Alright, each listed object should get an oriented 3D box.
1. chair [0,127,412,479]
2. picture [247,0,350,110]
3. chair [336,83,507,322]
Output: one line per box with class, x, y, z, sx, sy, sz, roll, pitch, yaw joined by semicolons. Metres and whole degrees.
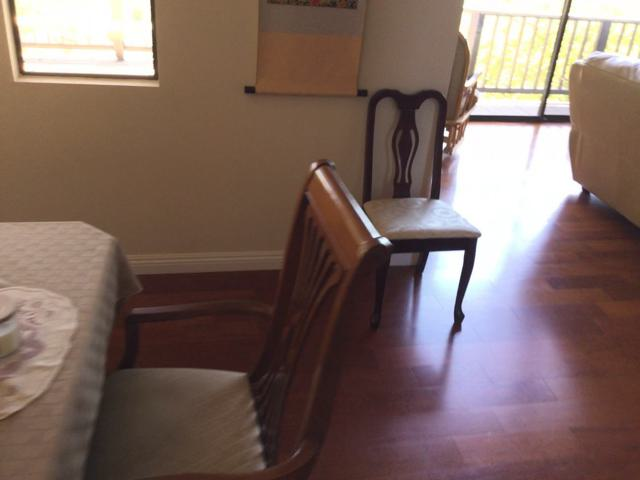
chair;-0.320;0.350;1.400;0.730;1.040;0.760;-3;28;-12
picture;-0.070;-1.170;2.200;0.410;1.350;0.040;-3;28;-12
chair;0.390;-0.180;2.550;0.470;0.890;0.540;-3;28;-12
